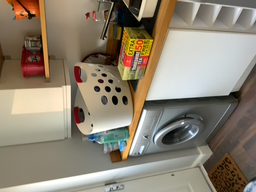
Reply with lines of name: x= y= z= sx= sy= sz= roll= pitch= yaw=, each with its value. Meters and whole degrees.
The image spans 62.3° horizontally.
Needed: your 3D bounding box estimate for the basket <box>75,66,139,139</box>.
basket: x=-0.180 y=0.020 z=1.550 sx=0.500 sy=0.340 sz=0.220 roll=-112 pitch=27 yaw=-42
